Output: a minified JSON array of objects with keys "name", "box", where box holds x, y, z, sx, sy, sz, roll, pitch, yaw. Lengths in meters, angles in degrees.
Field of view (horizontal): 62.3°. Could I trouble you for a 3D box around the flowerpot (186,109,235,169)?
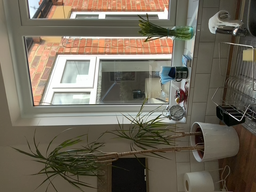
[{"name":"flowerpot","box":[0.530,0.270,1.410,0.290,0.170,0.300,-104,14,-76]}]
